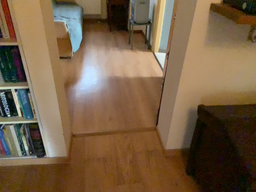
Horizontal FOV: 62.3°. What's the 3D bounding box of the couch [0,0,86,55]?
[{"bbox_3d":[-1.310,-1.600,3.740,1.040,0.910,2.200,-3,34,-10],"label":"couch"}]
